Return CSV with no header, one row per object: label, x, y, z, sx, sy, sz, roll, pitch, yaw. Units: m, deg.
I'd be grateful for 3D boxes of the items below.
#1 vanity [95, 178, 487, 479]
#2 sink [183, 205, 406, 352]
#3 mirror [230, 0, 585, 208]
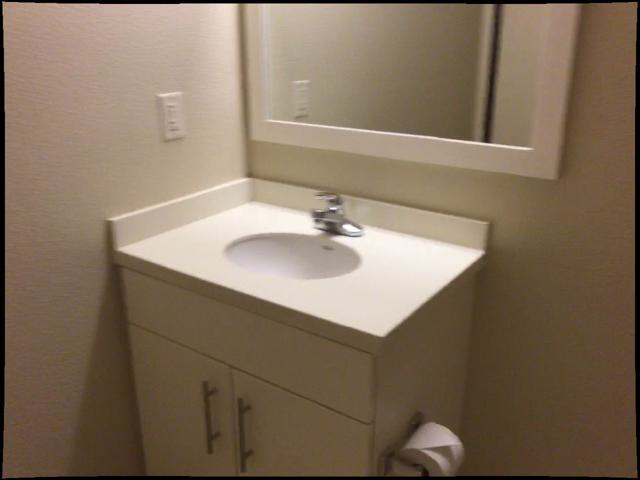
vanity,-0.060,0.401,1.620,0.809,0.962,0.580,11,23,31
sink,-0.050,0.070,1.550,0.389,0.170,0.470,11,23,31
mirror,0.160,-0.642,1.470,0.958,1.002,0.080,11,23,31
